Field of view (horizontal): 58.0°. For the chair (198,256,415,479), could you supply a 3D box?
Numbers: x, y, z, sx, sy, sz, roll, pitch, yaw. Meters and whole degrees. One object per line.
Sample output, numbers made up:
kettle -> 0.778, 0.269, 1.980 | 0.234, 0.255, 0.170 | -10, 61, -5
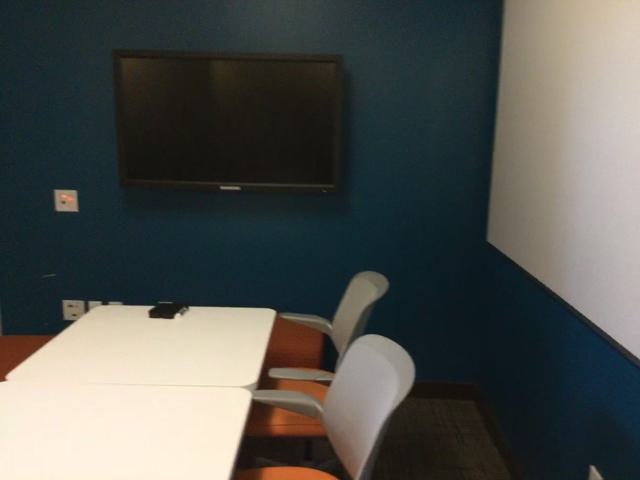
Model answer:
chair -> -0.110, 0.600, 2.130 | 0.640, 0.950, 0.630 | 1, 11, -12
